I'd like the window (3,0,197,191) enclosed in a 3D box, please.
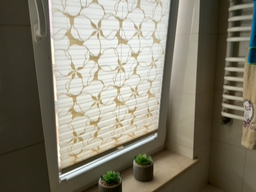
[{"bbox_3d":[-0.020,-0.270,0.930,0.880,1.510,0.160,-12,17,-40],"label":"window"}]
